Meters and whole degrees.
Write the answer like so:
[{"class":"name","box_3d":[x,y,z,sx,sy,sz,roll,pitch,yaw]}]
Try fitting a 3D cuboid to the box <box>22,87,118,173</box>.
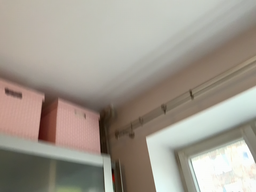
[{"class":"box","box_3d":[-0.420,0.290,1.620,0.370,0.430,0.540,-34,-41,31]}]
